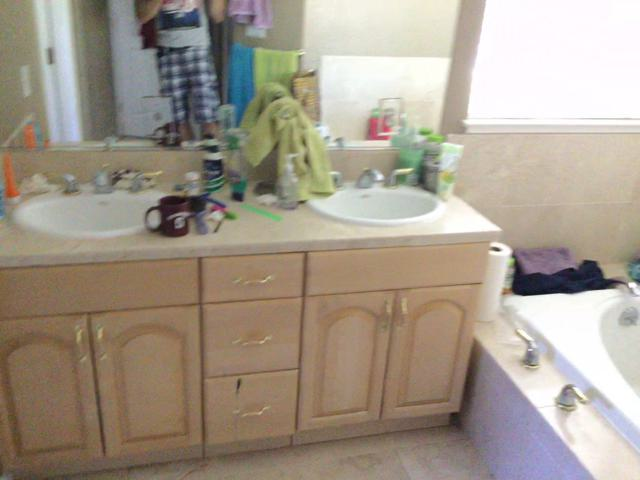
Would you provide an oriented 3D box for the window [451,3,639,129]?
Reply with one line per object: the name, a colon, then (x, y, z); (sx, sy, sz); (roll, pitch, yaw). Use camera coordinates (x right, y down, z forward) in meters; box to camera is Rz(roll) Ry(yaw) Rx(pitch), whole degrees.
window: (1.090, -0.670, 2.250); (1.080, 0.410, 0.250); (-3, 25, -14)
